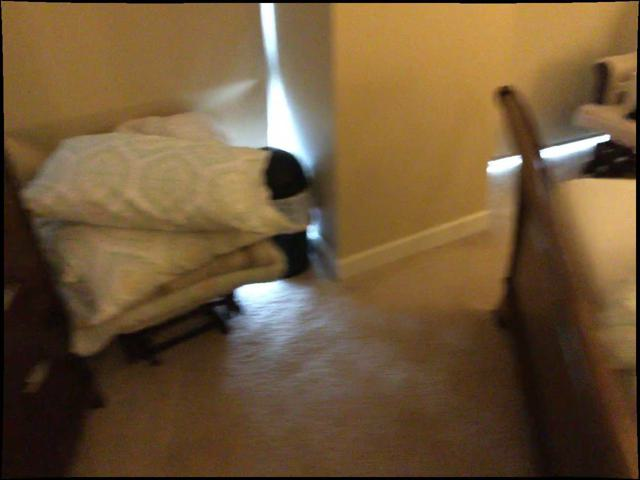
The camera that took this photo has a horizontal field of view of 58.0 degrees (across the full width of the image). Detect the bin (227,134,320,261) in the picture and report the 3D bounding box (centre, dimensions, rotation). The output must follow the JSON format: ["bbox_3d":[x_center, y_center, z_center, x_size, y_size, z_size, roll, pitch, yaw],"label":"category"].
[{"bbox_3d":[-0.170,-0.170,2.300,0.289,0.401,0.280,4,37,8],"label":"bin"}]

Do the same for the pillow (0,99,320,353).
[{"bbox_3d":[-0.589,-0.140,1.910,0.809,0.180,0.890,-24,42,-27],"label":"pillow"}]

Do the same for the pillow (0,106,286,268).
[{"bbox_3d":[-0.519,-0.190,1.780,0.728,0.210,0.530,4,37,8],"label":"pillow"}]

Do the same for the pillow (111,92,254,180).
[{"bbox_3d":[-0.509,-0.411,2.230,0.419,0.170,0.370,4,37,8],"label":"pillow"}]
